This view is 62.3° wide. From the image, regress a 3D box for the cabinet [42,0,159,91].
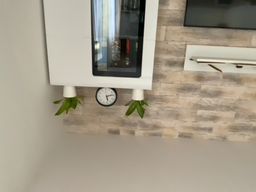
[{"bbox_3d":[-0.190,-0.610,1.640,0.800,1.040,0.360,4,-161,1],"label":"cabinet"}]
